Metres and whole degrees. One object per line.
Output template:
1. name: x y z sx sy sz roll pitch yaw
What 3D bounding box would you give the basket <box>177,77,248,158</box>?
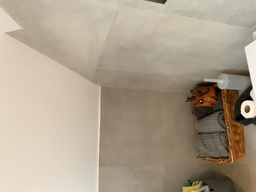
1. basket: 0.610 0.180 1.610 0.380 0.270 0.540 141 130 -69
